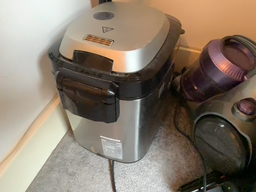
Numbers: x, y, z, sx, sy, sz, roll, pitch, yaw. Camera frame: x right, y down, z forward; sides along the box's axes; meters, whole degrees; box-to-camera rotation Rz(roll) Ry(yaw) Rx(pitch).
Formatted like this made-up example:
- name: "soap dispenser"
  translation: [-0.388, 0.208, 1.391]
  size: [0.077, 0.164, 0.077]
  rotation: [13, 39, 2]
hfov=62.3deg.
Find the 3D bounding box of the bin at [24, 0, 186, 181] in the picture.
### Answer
- name: "bin"
  translation: [-0.030, -0.010, 0.650]
  size: [0.270, 0.490, 0.280]
  rotation: [15, 49, 12]
